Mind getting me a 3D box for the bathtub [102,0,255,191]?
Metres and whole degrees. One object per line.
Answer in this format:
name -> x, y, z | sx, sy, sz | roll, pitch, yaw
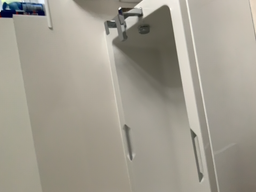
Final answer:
bathtub -> 0.400, 0.270, 1.420 | 0.770, 0.600, 1.690 | -9, 91, 57
